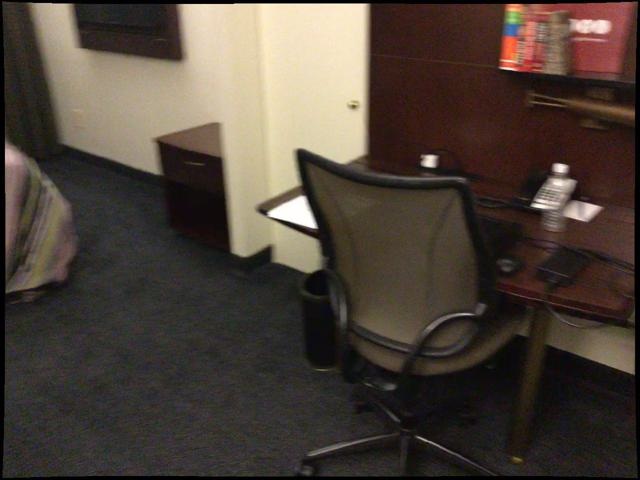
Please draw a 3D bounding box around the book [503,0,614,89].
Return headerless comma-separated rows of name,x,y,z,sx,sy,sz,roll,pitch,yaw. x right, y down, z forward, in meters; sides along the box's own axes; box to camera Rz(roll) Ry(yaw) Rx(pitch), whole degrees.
book,0.749,-0.631,1.830,0.250,0.240,0.160,20,32,34
